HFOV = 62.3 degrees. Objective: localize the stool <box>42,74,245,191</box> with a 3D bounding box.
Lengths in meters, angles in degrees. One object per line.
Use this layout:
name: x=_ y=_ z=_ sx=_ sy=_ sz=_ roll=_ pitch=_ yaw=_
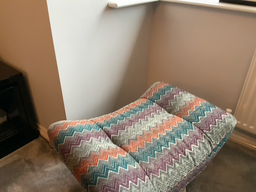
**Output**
stool: x=0.070 y=0.260 z=0.960 sx=0.680 sy=0.420 sz=0.460 roll=-22 pitch=39 yaw=-33
